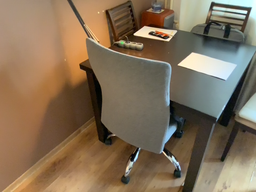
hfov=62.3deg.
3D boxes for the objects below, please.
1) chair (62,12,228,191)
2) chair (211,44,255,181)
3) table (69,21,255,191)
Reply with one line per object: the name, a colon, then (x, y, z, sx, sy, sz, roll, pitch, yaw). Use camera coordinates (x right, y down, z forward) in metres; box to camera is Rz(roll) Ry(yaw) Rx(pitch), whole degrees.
chair: (0.110, 0.070, 1.420, 0.650, 0.980, 0.600, 24, 45, 29)
chair: (0.980, 0.090, 1.430, 0.460, 0.910, 0.500, 24, 44, 28)
table: (0.280, 0.000, 1.690, 0.930, 0.750, 0.950, 25, 46, 30)
